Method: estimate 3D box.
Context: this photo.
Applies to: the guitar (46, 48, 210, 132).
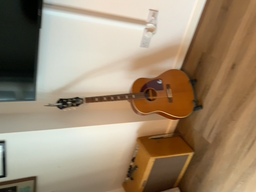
[{"bbox_3d":[0.010,0.010,1.740,0.380,1.230,0.460,138,134,-62],"label":"guitar"}]
